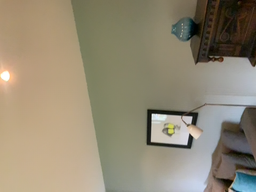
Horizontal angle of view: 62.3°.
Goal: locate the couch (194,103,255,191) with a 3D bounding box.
[{"bbox_3d":[1.590,1.340,2.850,1.170,0.880,2.170,-77,-11,-52],"label":"couch"}]
